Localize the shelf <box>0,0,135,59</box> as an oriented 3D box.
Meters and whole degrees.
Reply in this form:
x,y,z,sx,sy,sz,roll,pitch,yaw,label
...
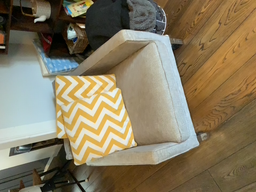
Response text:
x,y,z,sx,sy,sz,roll,pitch,yaw,label
-0.900,-0.630,1.520,0.330,1.950,0.640,59,135,26,shelf

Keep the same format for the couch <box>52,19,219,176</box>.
x,y,z,sx,sy,sz,roll,pitch,yaw,label
-0.010,0.070,1.580,0.870,0.670,0.800,-24,77,49,couch
